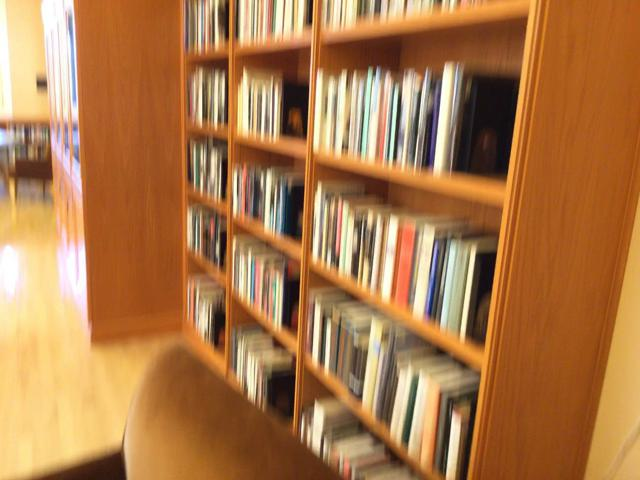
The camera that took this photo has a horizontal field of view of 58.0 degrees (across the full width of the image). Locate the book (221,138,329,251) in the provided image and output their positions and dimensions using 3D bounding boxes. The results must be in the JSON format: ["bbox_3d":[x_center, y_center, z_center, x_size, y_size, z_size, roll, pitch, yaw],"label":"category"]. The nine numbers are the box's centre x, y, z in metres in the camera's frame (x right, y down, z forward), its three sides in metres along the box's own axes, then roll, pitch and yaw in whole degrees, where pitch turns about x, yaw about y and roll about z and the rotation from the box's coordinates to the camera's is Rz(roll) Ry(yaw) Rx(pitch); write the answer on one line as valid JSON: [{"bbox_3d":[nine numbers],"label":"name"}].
[{"bbox_3d":[-0.210,-0.210,2.360,0.180,0.350,0.680,-3,14,-27],"label":"book"}]

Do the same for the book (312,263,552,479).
[{"bbox_3d":[0.260,0.370,1.680,0.240,0.410,0.750,-3,14,-27],"label":"book"}]

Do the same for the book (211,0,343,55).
[{"bbox_3d":[-0.210,-0.930,2.240,0.140,0.340,1.000,-3,14,-27],"label":"book"}]

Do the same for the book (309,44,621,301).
[{"bbox_3d":[0.310,-0.220,1.590,0.340,0.520,0.800,-3,14,-27],"label":"book"}]

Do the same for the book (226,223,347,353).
[{"bbox_3d":[-0.170,0.170,2.450,0.260,0.350,0.650,-3,14,-27],"label":"book"}]

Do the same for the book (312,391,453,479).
[{"bbox_3d":[0.190,0.690,1.800,0.160,0.140,0.640,-3,14,-27],"label":"book"}]

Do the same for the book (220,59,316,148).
[{"bbox_3d":[-0.230,-0.550,2.330,0.170,0.300,0.590,-3,14,-27],"label":"book"}]

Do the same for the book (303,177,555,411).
[{"bbox_3d":[0.230,0.080,1.630,0.210,0.410,0.820,-3,14,-27],"label":"book"}]
